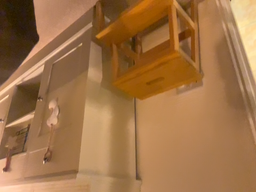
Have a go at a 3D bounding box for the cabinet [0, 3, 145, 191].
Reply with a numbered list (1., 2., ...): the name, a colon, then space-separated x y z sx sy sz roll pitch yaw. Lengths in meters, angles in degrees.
1. cabinet: -0.620 0.260 1.550 1.480 1.100 0.450 -21 147 36

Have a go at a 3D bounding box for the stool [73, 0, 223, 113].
1. stool: 0.080 -0.290 1.090 0.550 0.540 0.410 -21 147 36
